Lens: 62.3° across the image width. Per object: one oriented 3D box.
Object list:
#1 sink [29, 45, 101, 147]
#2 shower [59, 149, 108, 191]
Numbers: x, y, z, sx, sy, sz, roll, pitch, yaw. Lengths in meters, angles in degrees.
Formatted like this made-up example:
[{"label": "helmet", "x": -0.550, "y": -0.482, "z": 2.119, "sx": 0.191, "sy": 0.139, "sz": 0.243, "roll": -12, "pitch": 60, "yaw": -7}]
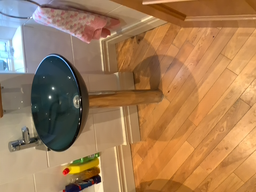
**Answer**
[{"label": "sink", "x": -0.330, "y": 0.010, "z": 1.090, "sx": 0.290, "sy": 0.180, "sz": 0.450, "roll": -10, "pitch": 87, "yaw": 42}, {"label": "shower", "x": -0.300, "y": 0.530, "z": 1.470, "sx": 0.140, "sy": 0.280, "sz": 0.250, "roll": -7, "pitch": 89, "yaw": 42}]
